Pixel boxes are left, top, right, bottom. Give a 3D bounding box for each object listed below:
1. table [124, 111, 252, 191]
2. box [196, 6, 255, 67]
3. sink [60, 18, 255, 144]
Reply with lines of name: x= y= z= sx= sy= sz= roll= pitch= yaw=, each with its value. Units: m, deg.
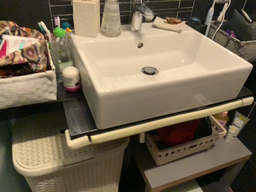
table: x=0.320 y=0.390 z=1.260 sx=0.590 sy=0.350 sz=0.330 roll=-12 pitch=41 yaw=-20
box: x=0.480 y=-0.280 z=0.960 sx=0.180 sy=0.170 sz=0.250 roll=-10 pitch=41 yaw=-18
sink: x=0.070 y=-0.110 z=0.760 sx=0.530 sy=0.160 sz=0.430 roll=-11 pitch=41 yaw=-20
